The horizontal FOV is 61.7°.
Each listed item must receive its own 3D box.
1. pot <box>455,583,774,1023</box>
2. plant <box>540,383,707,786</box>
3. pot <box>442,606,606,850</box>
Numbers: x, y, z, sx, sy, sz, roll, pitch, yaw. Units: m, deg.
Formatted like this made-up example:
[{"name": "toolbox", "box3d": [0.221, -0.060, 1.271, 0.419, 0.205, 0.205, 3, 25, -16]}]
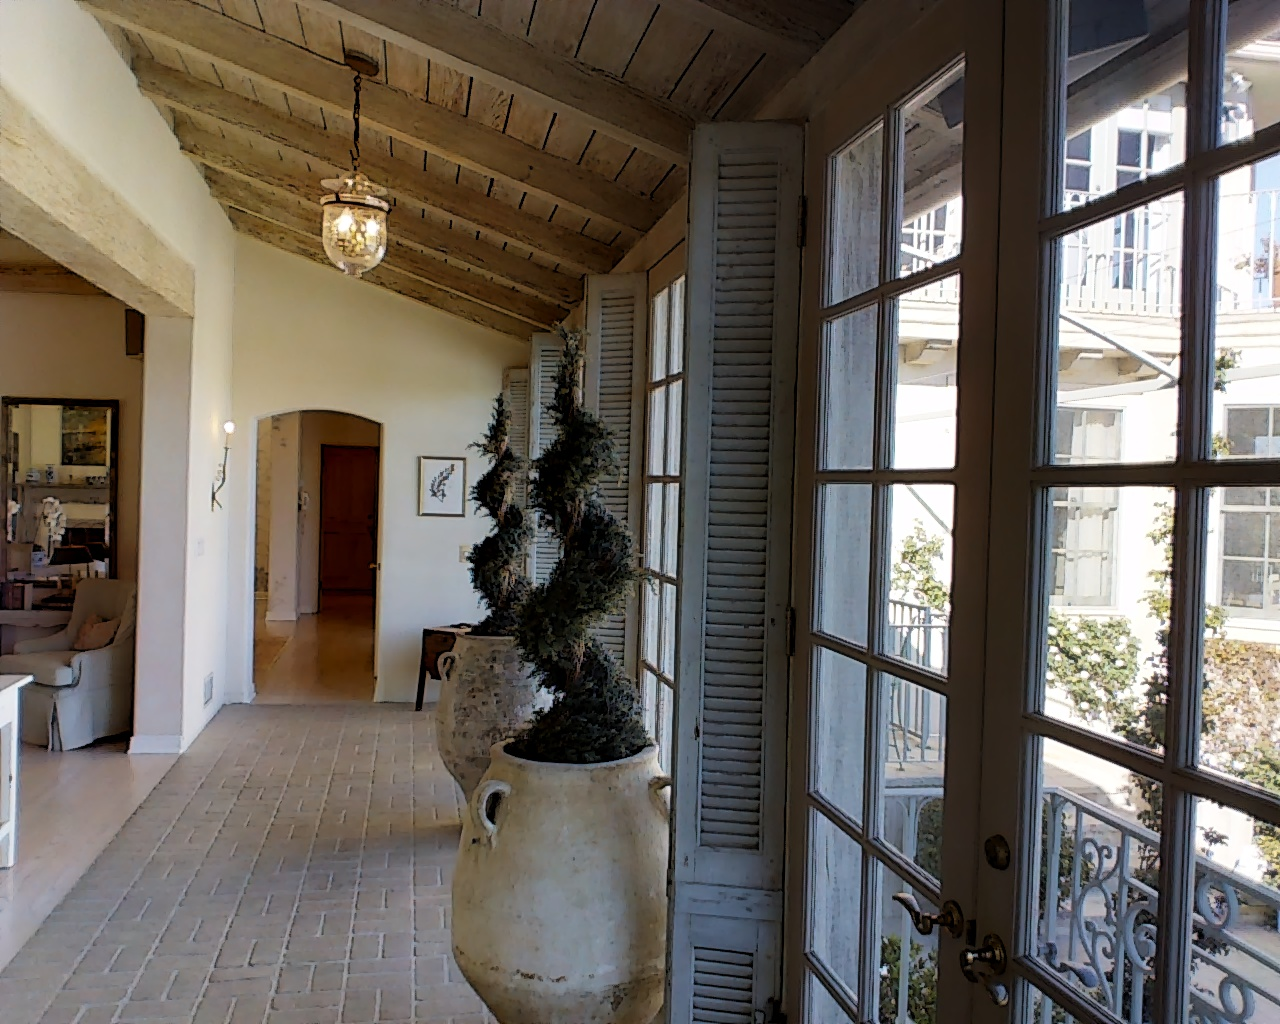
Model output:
[{"name": "pot", "box3d": [-0.110, 0.880, 2.930, 0.740, 1.300, 0.650, 2, 1, -10]}, {"name": "plant", "box3d": [-0.060, 0.180, 2.910, 0.330, 1.000, 0.450, 2, 1, -13]}, {"name": "pot", "box3d": [-0.570, 0.980, 5.060, 0.680, 0.990, 0.660, 2, 1, -12]}]
